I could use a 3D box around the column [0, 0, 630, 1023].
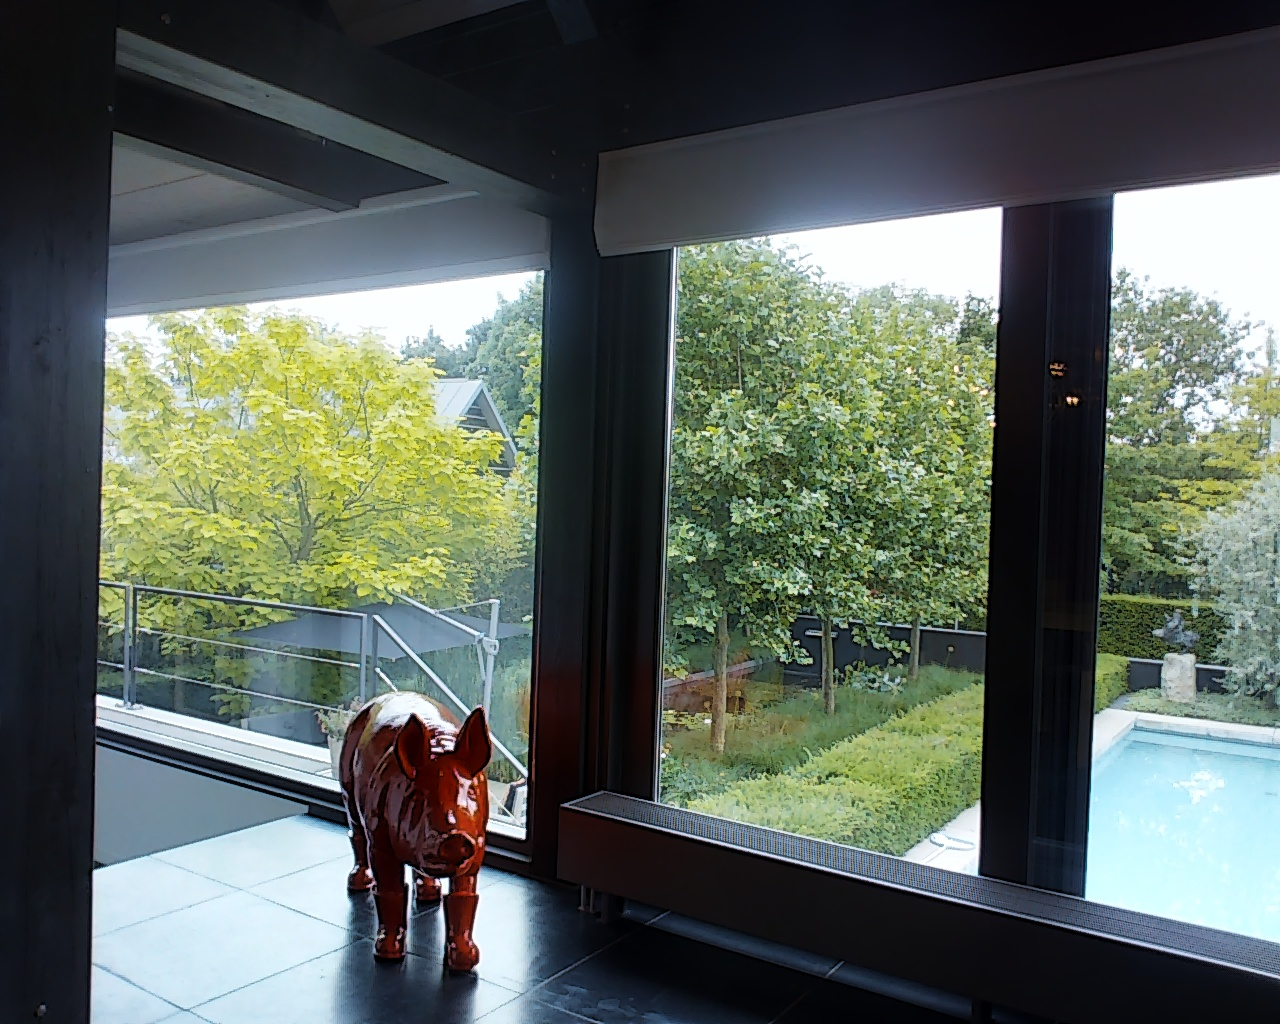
[{"bbox_3d":[-0.790,-1.050,2.810,0.300,4.641,2.150,3,1,34],"label":"column"}]

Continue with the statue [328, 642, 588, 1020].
[{"bbox_3d":[-0.630,0.880,3.370,0.500,0.760,1.270,2,1,-23],"label":"statue"}]
